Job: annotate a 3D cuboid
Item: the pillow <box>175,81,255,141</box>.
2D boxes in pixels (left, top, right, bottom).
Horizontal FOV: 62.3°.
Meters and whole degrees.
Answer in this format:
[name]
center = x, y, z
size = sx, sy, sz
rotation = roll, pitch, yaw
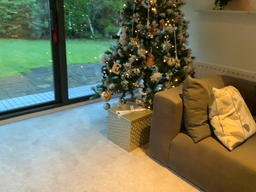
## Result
[pillow]
center = 0.660, 0.100, 1.510
size = 0.530, 0.390, 0.150
rotation = -11, 63, -38
